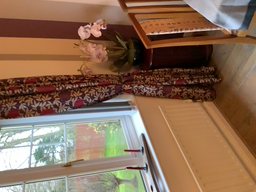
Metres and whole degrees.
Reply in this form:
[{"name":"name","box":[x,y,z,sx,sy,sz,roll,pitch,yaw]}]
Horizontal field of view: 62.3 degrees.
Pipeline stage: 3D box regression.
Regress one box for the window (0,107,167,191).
[{"name":"window","box":[-0.420,0.720,1.320,1.640,1.430,0.080,-110,24,-44]}]

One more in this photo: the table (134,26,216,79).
[{"name":"table","box":[0.450,-0.440,2.170,0.370,0.640,0.380,-110,25,-45]}]

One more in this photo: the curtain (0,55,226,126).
[{"name":"curtain","box":[-0.260,-0.080,1.820,0.230,2.230,0.510,108,154,-49]}]
